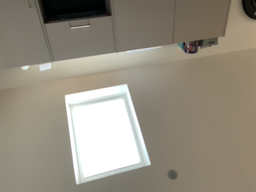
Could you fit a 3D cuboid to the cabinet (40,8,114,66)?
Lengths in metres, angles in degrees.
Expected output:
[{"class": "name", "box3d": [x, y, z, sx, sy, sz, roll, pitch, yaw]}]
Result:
[{"class": "cabinet", "box3d": [-0.480, -0.590, 2.070, 0.590, 0.400, 0.340, -11, -147, -11]}]
